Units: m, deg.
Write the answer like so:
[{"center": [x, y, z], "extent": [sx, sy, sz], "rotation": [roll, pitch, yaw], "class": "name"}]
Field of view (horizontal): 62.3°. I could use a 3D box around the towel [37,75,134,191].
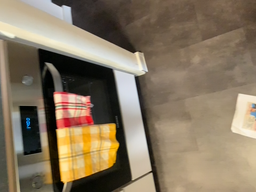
[{"center": [-0.140, 0.130, 0.820], "extent": [0.070, 0.380, 0.370], "rotation": [-18, 77, 29], "class": "towel"}]
